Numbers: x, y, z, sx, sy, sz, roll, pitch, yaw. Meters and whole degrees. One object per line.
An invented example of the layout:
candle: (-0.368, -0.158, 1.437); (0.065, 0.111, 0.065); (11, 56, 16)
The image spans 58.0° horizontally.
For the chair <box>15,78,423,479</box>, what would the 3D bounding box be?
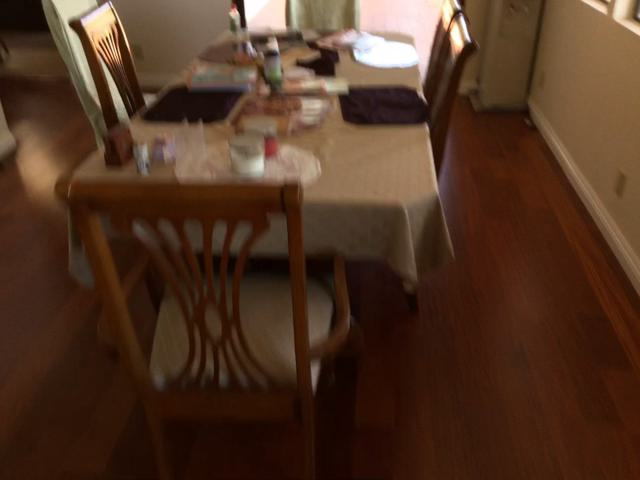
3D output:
chair: (-0.150, 0.200, 1.500); (0.680, 1.040, 0.670); (3, 30, 4)

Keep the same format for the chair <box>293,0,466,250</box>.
chair: (0.240, -0.560, 2.680); (0.650, 1.060, 0.530); (3, 30, 4)
